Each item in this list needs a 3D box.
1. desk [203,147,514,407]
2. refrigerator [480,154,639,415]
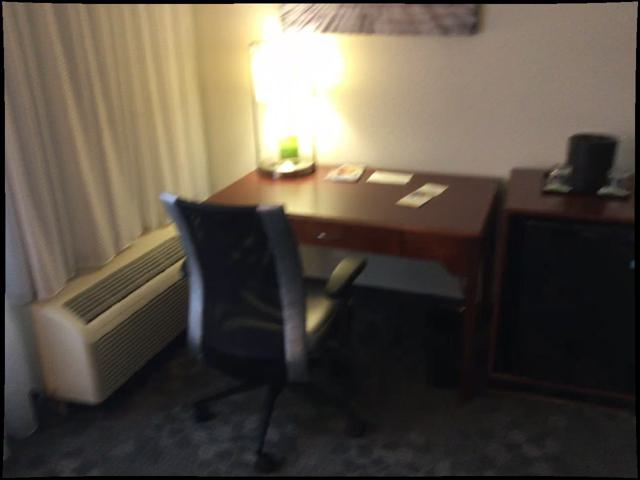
[{"bbox_3d":[0.210,0.090,2.720,1.209,0.791,0.780,8,24,18],"label":"desk"},{"bbox_3d":[1.059,0.140,2.410,0.619,0.811,0.630,8,24,18],"label":"refrigerator"}]
